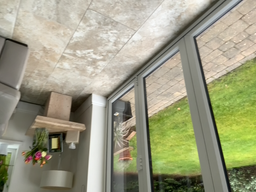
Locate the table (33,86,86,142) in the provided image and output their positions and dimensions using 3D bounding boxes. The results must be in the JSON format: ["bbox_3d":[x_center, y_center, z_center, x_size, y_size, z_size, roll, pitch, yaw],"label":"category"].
[{"bbox_3d":[-0.950,0.280,2.950,0.500,0.550,0.510,17,147,-31],"label":"table"}]

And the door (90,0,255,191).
[{"bbox_3d":[0.470,0.470,1.450,0.110,2.260,2.890,18,146,-32],"label":"door"}]
